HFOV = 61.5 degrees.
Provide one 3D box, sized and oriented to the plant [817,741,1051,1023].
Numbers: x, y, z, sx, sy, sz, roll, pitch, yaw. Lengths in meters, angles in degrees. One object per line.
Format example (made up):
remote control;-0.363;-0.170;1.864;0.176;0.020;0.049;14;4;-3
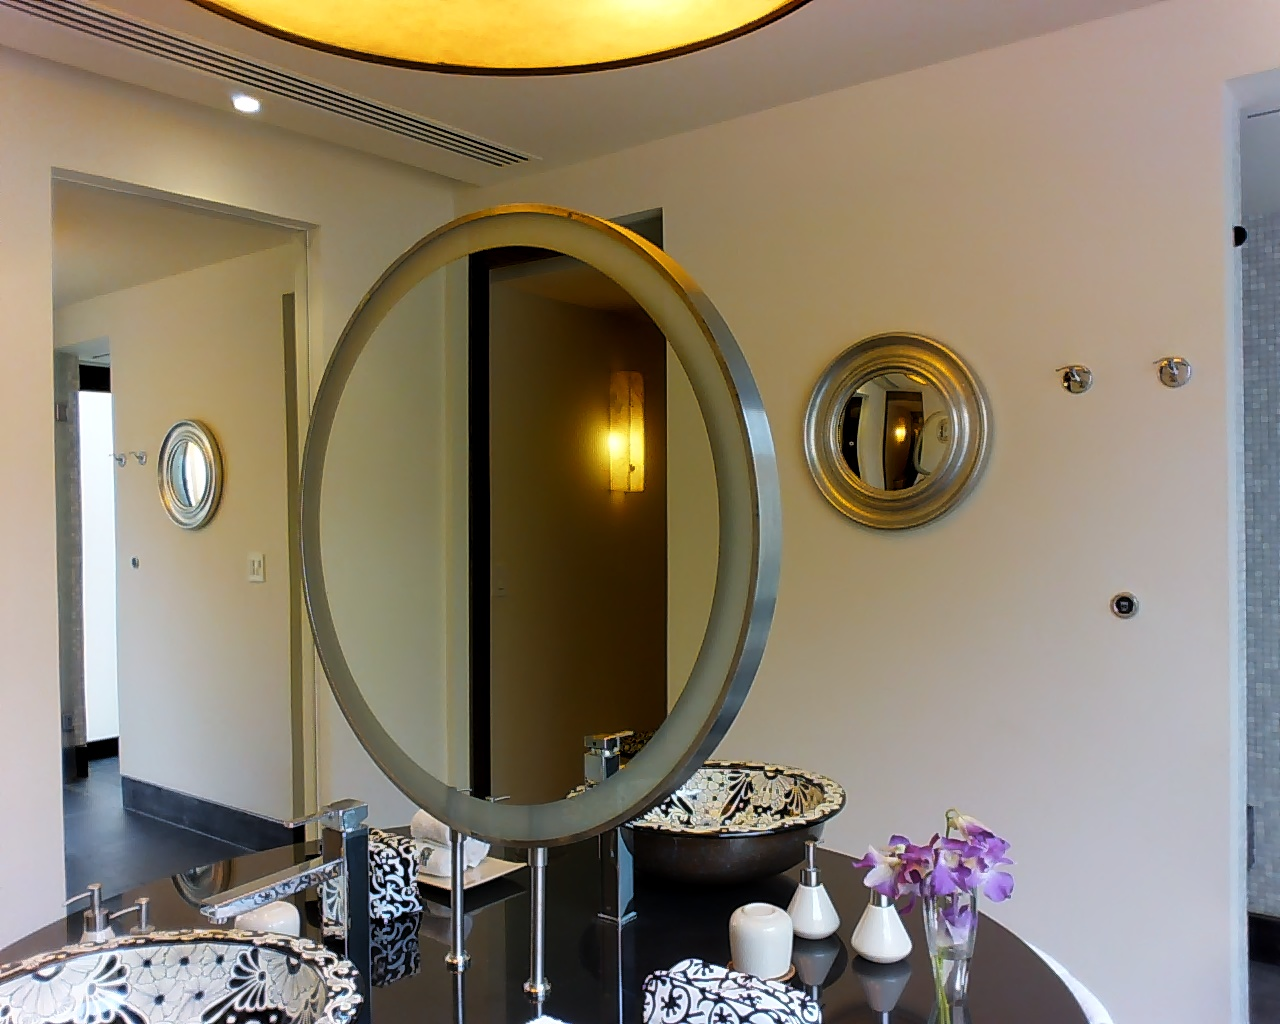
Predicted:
plant;0.300;0.460;1.120;0.120;0.390;0.210;-1;1;-29

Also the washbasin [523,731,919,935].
washbasin;0.160;0.570;2.030;0.530;0.150;0.540;0;1;39

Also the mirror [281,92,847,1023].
mirror;-0.180;0.100;1.570;1.000;1.140;0.110;0;1;39
